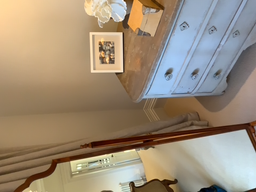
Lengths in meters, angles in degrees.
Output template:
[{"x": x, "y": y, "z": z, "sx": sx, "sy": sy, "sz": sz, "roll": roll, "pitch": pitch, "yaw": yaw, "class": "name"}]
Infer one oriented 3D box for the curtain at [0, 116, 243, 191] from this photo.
[{"x": -0.240, "y": 0.490, "z": 1.410, "sx": 0.490, "sy": 2.210, "sz": 0.320, "roll": -122, "pitch": 39, "yaw": -46, "class": "curtain"}]
